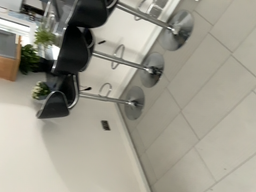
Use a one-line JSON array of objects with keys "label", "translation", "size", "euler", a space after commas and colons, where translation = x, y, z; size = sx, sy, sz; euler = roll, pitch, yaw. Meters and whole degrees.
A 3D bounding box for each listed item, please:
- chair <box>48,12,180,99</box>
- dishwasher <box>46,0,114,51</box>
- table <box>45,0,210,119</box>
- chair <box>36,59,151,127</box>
[{"label": "chair", "translation": [-0.120, -0.350, 2.110], "size": [0.420, 1.160, 0.450], "euler": [-61, 38, 26]}, {"label": "dishwasher", "translation": [-0.870, -1.380, 3.740], "size": [0.680, 0.900, 0.660], "euler": [-56, 40, 31]}, {"label": "table", "translation": [-0.180, -0.660, 2.420], "size": [1.680, 1.000, 0.860], "euler": [-56, 40, 31]}, {"label": "chair", "translation": [-0.370, 0.020, 2.380], "size": [0.420, 1.150, 0.420], "euler": [-53, 42, 35]}]
